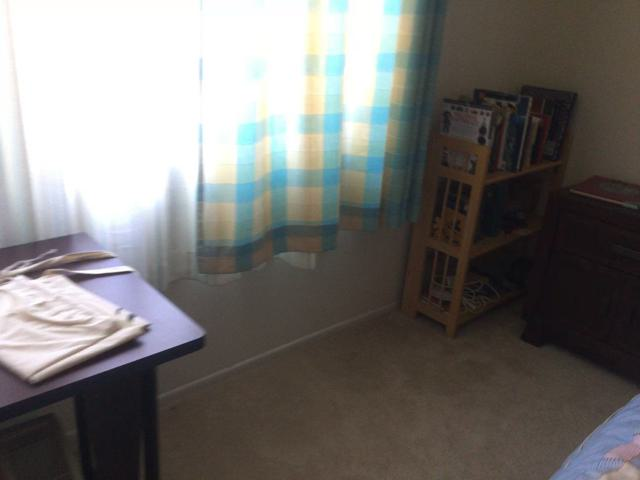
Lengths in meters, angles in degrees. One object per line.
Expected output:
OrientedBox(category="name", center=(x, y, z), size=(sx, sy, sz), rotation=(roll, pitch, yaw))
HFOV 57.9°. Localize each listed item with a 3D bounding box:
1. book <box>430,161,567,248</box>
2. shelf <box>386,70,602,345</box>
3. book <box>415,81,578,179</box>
OrientedBox(category="book", center=(0.780, -0.170, 2.500), size=(0.620, 0.250, 0.220), rotation=(-12, 25, -38))
OrientedBox(category="shelf", center=(0.740, -0.180, 2.510), size=(0.750, 1.030, 0.380), rotation=(-12, 25, -38))
OrientedBox(category="book", center=(0.730, -0.470, 2.380), size=(0.600, 0.320, 0.310), rotation=(-12, 25, -38))
